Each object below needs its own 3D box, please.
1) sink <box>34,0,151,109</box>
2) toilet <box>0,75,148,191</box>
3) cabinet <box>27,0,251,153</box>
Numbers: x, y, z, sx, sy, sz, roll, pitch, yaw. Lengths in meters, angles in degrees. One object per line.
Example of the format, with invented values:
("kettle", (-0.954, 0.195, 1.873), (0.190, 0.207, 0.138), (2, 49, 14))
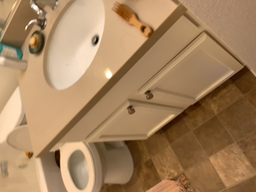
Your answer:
("sink", (-0.180, -0.210, 0.890), (0.420, 0.190, 0.340), (-43, 58, 28))
("toilet", (-0.410, 0.350, 1.510), (0.480, 0.780, 0.720), (-44, 57, 28))
("cabinet", (0.050, -0.170, 1.180), (0.760, 0.800, 0.590), (-44, 57, 28))
